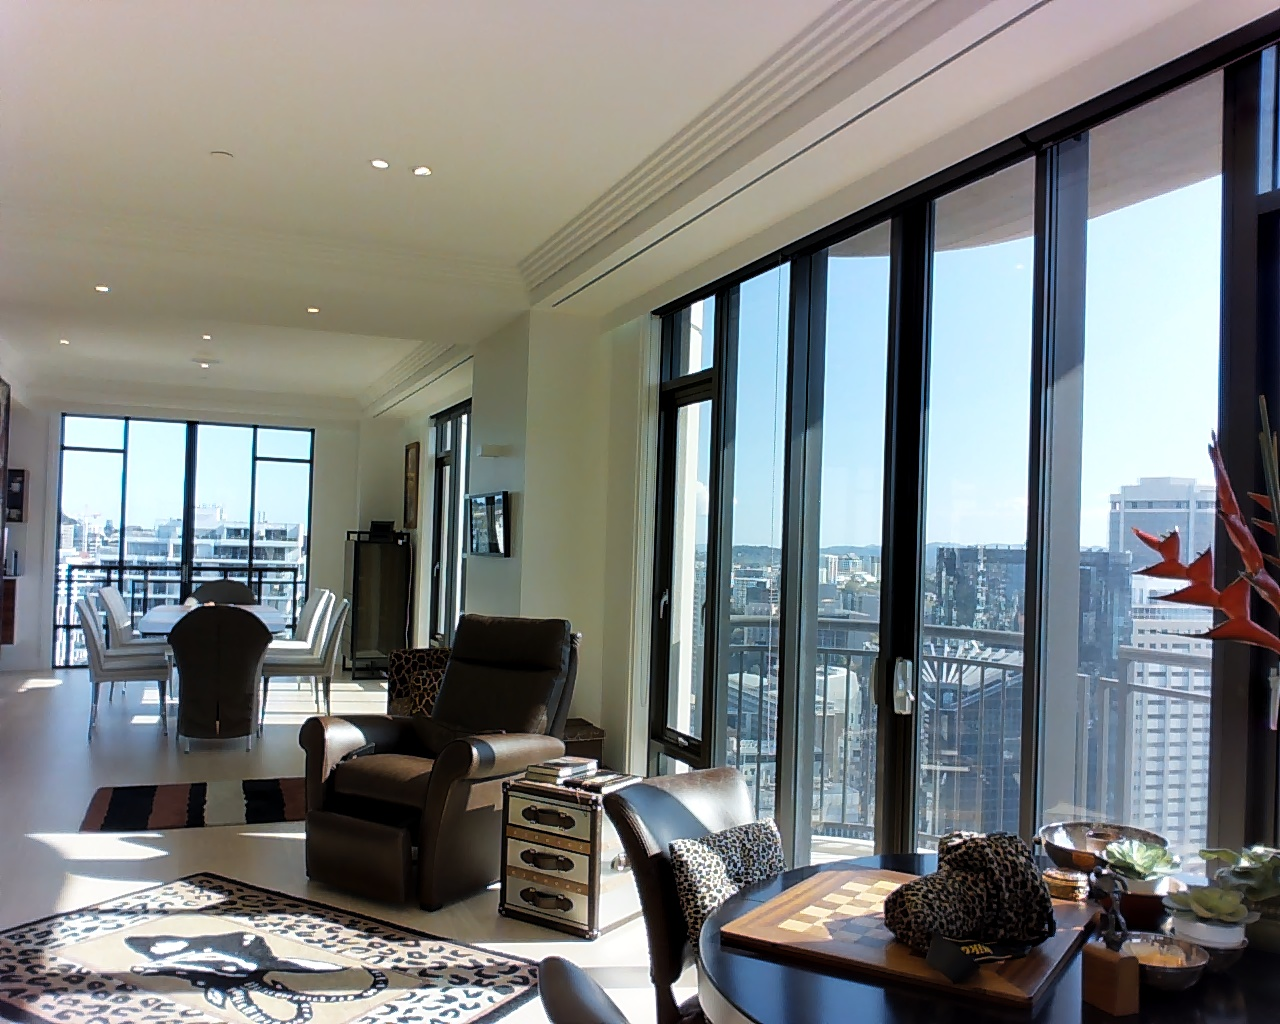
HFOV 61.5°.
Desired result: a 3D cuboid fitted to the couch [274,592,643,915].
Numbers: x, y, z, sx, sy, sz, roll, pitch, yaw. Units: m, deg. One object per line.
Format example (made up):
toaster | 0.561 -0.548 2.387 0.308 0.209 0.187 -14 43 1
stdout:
couch | -0.730 0.910 4.550 1.040 1.050 1.110 1 -1 31
